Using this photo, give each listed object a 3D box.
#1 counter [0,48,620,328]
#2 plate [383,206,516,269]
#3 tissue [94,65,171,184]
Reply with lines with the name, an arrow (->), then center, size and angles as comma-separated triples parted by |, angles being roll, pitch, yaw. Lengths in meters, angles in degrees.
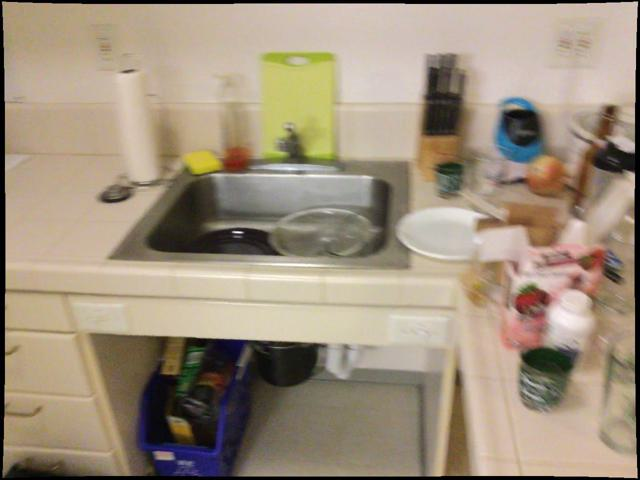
counter -> -0.659, -0.190, 1.420 | 2.368, 0.370, 0.650 | 2, 32, 7
plate -> 0.270, -0.010, 1.250 | 0.260, 0.030, 0.200 | 2, 32, 7
tissue -> -0.470, -0.290, 1.470 | 0.110, 0.280, 0.090 | 2, 32, 7
